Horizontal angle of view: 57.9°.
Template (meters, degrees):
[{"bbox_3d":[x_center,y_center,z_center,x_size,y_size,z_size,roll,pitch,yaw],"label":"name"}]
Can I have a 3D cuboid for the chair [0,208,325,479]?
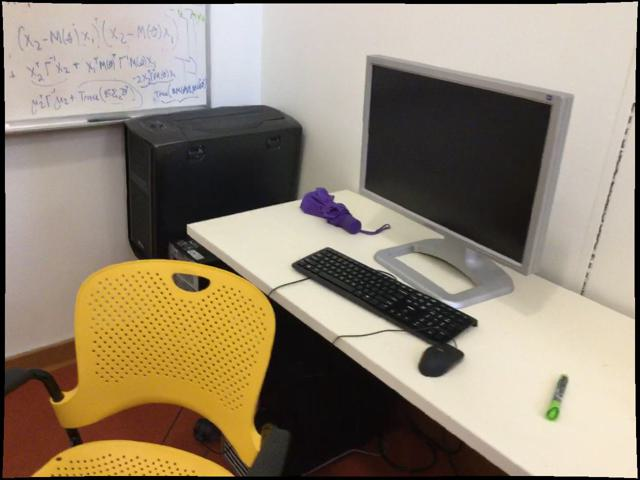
[{"bbox_3d":[-0.350,0.490,1.170,0.549,0.811,0.770,8,27,6],"label":"chair"}]

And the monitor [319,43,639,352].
[{"bbox_3d":[0.330,-0.150,1.390,0.340,0.520,0.580,-16,33,-36],"label":"monitor"}]

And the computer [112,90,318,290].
[{"bbox_3d":[-0.370,-0.210,2.110,0.620,0.550,0.320,-16,33,-36],"label":"computer"}]
